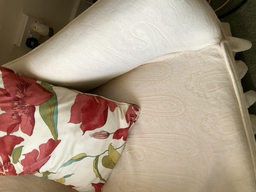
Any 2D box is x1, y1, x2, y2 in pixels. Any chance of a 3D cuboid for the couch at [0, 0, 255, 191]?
[{"bbox_3d":[-0.060,0.200,0.590,0.840,0.830,0.650,-15,83,33],"label":"couch"}]
